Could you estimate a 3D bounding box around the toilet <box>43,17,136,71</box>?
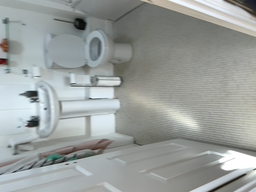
[{"bbox_3d":[-0.420,-0.500,2.280,0.640,0.780,0.370,1,93,53],"label":"toilet"}]
